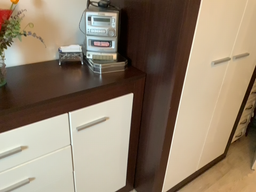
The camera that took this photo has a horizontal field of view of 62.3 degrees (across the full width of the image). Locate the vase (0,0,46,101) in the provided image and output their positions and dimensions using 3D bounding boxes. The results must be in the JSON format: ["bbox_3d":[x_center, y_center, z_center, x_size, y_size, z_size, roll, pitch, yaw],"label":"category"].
[{"bbox_3d":[-0.560,-0.210,0.860,0.320,0.390,0.250,-16,35,-33],"label":"vase"}]
